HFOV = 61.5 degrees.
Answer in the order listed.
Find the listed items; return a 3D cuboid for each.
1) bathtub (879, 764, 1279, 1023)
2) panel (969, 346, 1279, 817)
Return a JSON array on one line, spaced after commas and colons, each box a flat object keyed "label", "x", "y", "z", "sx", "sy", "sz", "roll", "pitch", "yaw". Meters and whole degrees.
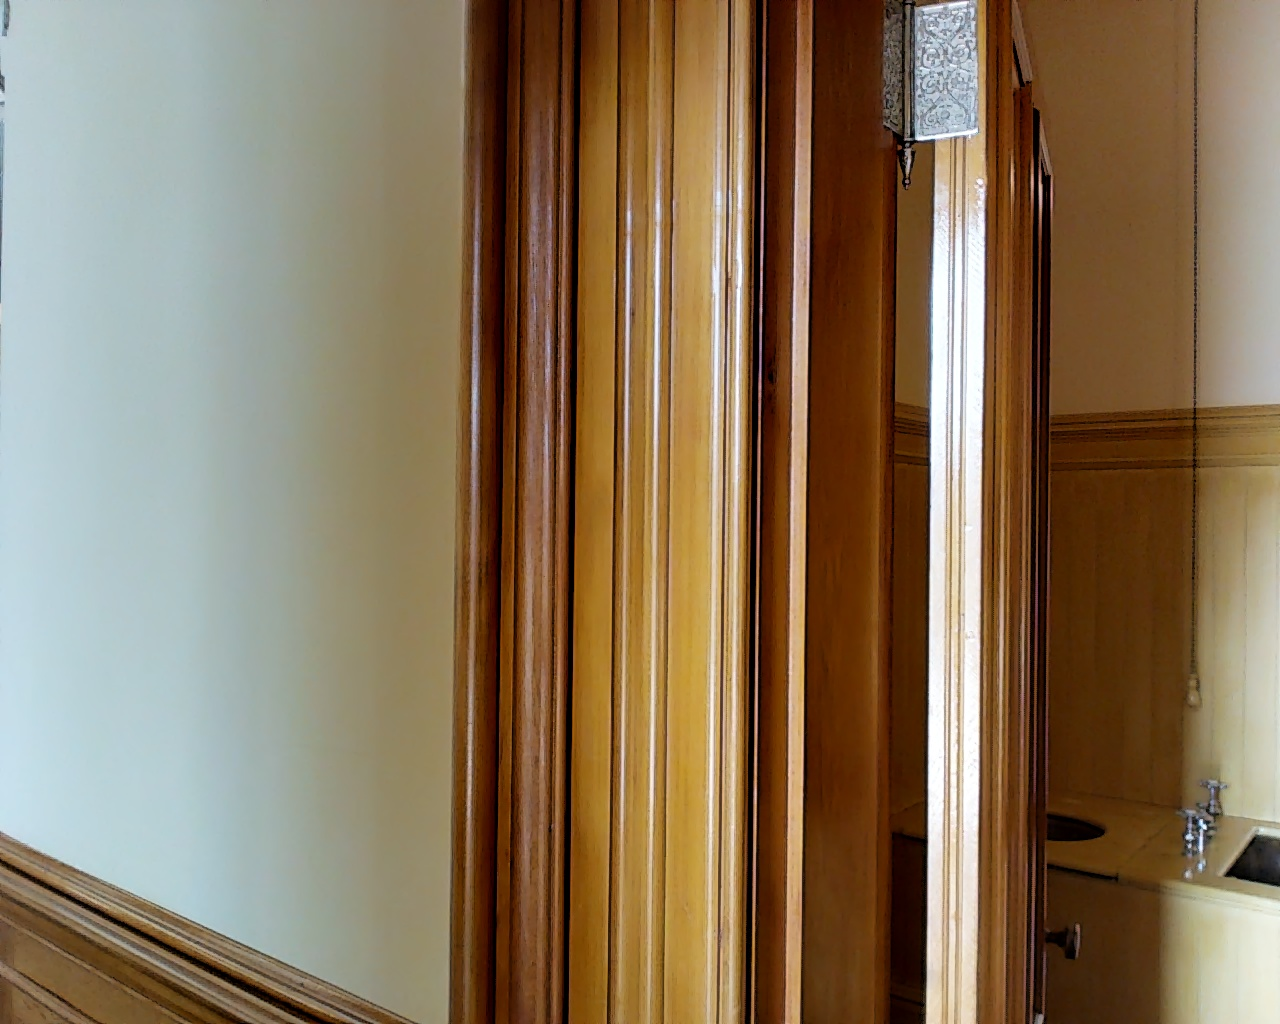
[{"label": "bathtub", "x": 2.060, "y": 1.220, "z": 2.680, "sx": 2.790, "sy": 0.630, "sz": 0.800, "roll": 0, "pitch": -1, "yaw": 39}, {"label": "panel", "x": 2.300, "y": 0.210, "z": 2.990, "sx": 2.820, "sy": 1.420, "sz": 0.070, "roll": 0, "pitch": -1, "yaw": 39}]
